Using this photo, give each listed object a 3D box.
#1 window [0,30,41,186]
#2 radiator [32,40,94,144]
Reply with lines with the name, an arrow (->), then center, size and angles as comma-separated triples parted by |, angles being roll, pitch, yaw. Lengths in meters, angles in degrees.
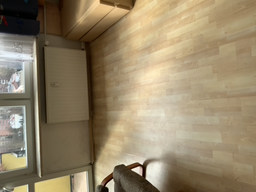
window -> -1.890, 0.150, 2.420 | 0.220, 1.610, 1.870 | 1, 92, 55
radiator -> -0.920, -0.060, 3.080 | 0.190, 0.810, 1.360 | -1, 90, 55
